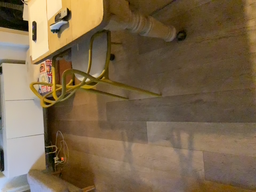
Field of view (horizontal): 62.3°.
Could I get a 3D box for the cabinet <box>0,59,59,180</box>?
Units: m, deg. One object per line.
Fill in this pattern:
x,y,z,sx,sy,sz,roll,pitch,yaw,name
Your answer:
-1.430,0.290,2.980,0.420,0.660,1.490,-8,86,48,cabinet
